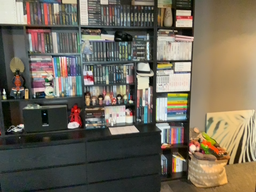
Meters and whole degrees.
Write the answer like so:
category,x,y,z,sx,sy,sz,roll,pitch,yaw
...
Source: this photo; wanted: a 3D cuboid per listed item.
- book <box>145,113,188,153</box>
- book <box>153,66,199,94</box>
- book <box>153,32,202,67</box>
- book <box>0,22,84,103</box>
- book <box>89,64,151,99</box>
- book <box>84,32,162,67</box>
category,x,y,z,sx,sy,sz,roll,pitch,yaw
book,0.480,0.460,2.720,0.440,0.390,0.310,-2,10,-13
book,0.570,-0.200,2.570,0.460,0.300,0.270,-2,10,-13
book,0.570,-0.540,2.500,0.480,0.380,0.260,-2,10,-13
book,-0.890,-0.340,2.210,0.810,0.760,0.240,-2,10,-13
book,-0.100,-0.180,2.430,0.650,0.360,0.300,-2,10,-13
book,-0.060,-0.510,2.380,0.820,0.360,0.240,-2,10,-9
